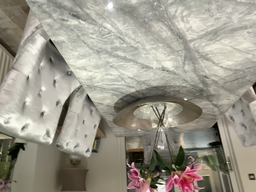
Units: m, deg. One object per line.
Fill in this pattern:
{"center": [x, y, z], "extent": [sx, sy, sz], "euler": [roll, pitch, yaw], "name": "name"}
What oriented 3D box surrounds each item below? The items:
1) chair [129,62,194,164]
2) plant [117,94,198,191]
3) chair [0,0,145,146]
{"center": [0.360, 0.240, 2.570], "extent": [0.580, 1.030, 0.690], "euler": [-5, 157, 5], "name": "chair"}
{"center": [0.160, 0.330, 1.310], "extent": [0.400, 0.600, 0.260], "euler": [-5, 157, 6], "name": "plant"}
{"center": [-0.300, -0.310, 1.230], "extent": [0.690, 1.040, 0.590], "euler": [-5, 157, 5], "name": "chair"}
